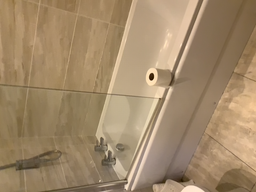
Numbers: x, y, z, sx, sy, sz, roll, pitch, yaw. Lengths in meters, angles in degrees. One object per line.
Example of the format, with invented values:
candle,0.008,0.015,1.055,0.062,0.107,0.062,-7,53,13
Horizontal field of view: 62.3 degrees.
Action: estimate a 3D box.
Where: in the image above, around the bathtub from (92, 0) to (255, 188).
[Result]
bathtub,0.260,-0.110,1.690,0.700,0.550,1.440,46,123,50
